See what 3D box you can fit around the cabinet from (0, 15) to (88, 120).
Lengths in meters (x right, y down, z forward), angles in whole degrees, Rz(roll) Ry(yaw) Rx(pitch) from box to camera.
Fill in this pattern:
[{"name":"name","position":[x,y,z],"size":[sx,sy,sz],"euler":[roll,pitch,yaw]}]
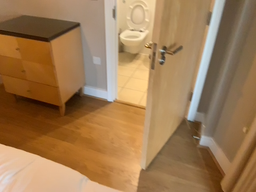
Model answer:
[{"name":"cabinet","position":[-0.940,-0.320,2.270],"size":[0.790,0.860,0.510],"euler":[13,35,15]}]
